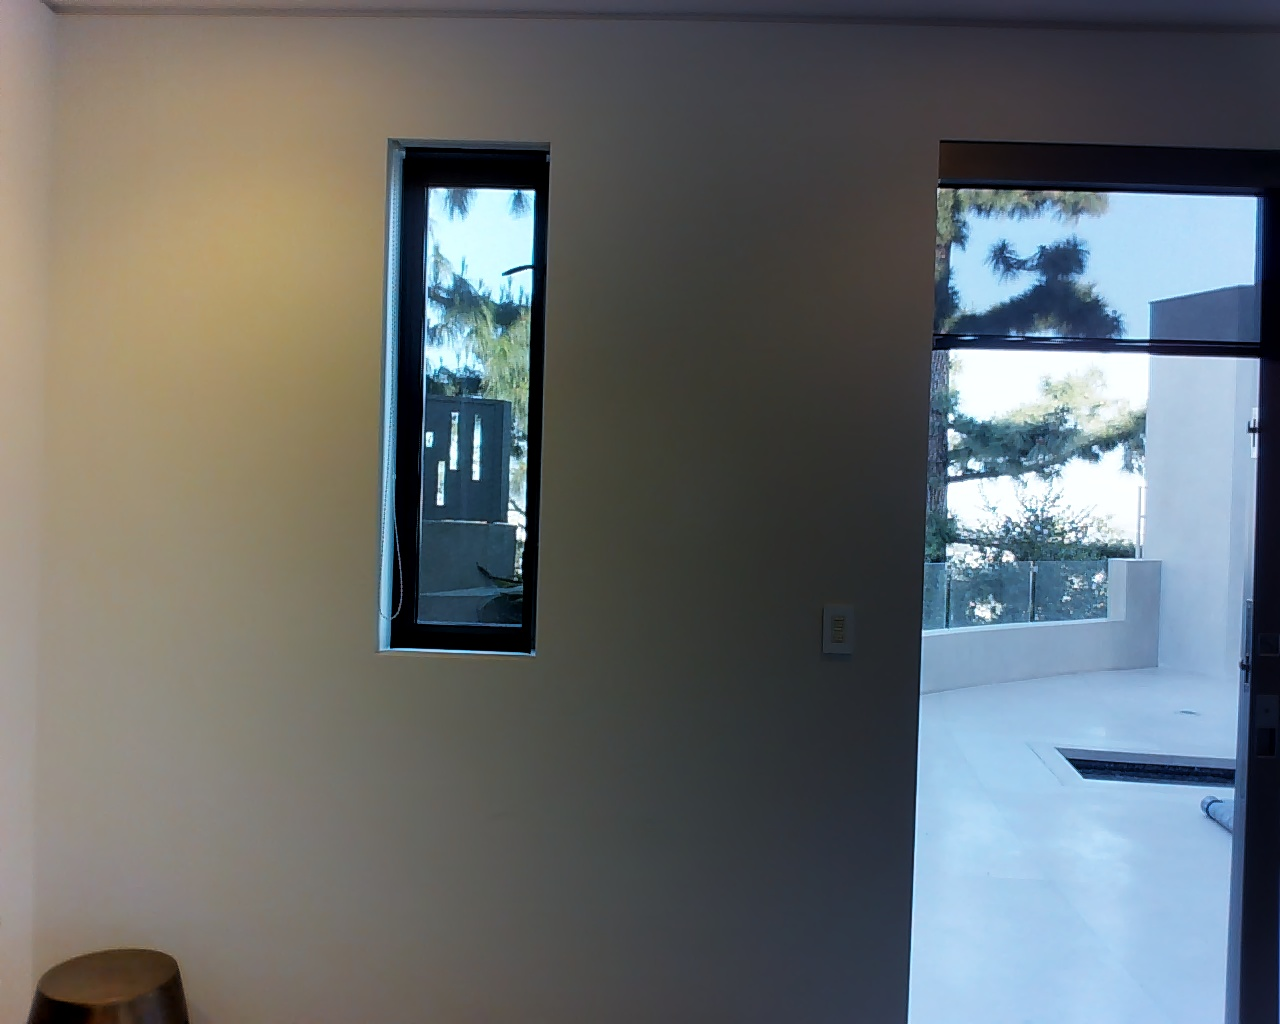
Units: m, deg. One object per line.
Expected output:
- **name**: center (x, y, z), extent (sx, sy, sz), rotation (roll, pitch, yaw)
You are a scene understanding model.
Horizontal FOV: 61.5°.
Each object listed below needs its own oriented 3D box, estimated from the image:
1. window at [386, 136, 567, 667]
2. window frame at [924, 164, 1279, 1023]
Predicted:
- **window**: center (-0.420, -0.280, 2.770), extent (0.420, 1.340, 0.060), rotation (2, 1, 1)
- **window frame**: center (1.690, 0.370, 2.690), extent (1.850, 2.390, 0.150), rotation (2, 1, 2)
